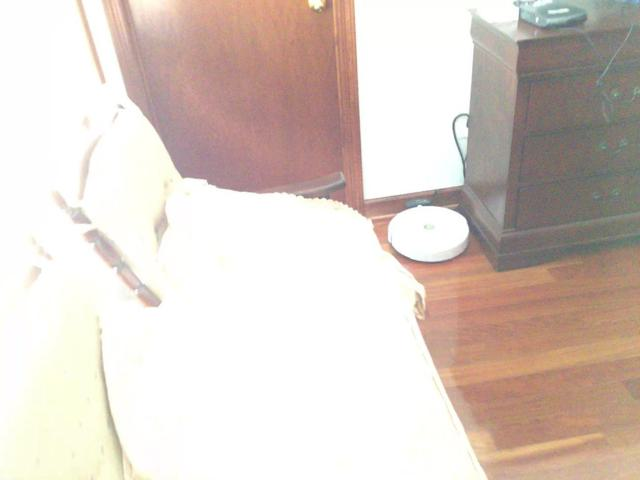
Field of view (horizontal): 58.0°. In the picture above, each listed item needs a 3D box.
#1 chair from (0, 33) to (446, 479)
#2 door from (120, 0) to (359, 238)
[{"bbox_3d":[-0.260,0.150,1.500,0.950,1.000,0.850,-9,33,-1],"label":"chair"},{"bbox_3d":[-0.330,-0.930,2.110,0.750,1.950,0.210,-9,33,-1],"label":"door"}]
